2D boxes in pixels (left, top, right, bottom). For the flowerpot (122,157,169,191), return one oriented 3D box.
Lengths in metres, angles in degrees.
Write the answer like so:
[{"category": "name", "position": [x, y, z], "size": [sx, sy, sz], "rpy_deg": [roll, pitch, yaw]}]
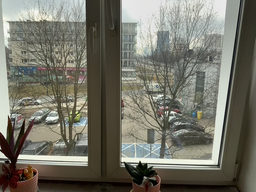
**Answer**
[{"category": "flowerpot", "position": [0.090, 0.450, 1.120], "size": [0.220, 0.160, 0.200], "rpy_deg": [2, 10, 5]}]
